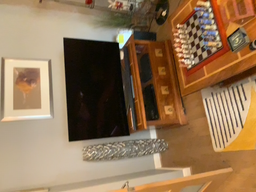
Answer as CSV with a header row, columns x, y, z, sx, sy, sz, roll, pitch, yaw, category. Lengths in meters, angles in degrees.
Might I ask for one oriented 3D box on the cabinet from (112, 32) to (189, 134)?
x,y,z,sx,sy,sz,roll,pitch,yaw,category
0.240,-0.120,2.820,0.700,0.630,1.140,148,118,-63,cabinet
